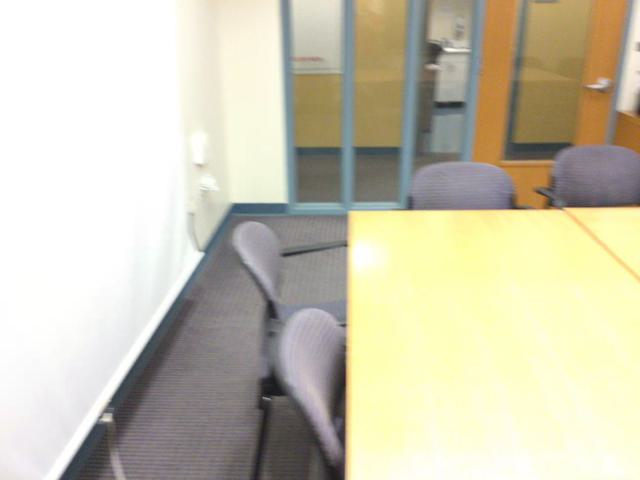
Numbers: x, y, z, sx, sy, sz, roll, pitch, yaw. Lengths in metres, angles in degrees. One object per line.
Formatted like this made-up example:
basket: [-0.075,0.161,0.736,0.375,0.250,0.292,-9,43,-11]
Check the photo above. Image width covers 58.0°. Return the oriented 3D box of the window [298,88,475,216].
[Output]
window: [0.460,-0.610,4.060,1.140,0.770,0.330,-2,26,6]
